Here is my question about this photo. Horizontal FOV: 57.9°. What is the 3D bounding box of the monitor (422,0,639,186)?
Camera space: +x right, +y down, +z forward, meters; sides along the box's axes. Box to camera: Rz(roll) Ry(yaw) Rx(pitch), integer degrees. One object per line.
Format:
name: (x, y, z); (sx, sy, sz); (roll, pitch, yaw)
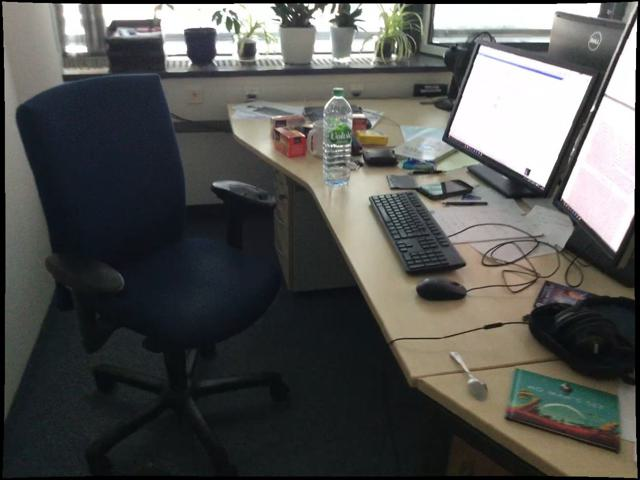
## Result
monitor: (0.589, -0.480, 1.710); (0.250, 0.400, 0.620); (-12, 31, -19)

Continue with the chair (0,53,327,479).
chair: (-0.470, 0.080, 1.710); (0.769, 1.031, 0.800); (9, 31, 16)
